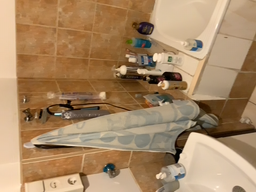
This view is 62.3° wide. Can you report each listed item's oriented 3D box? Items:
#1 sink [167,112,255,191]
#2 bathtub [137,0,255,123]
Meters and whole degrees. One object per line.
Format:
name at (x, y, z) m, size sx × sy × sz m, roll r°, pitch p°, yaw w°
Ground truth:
sink at (0.420, 0.390, 0.820) m, size 0.530 × 0.140 × 0.420 m, roll 51°, pitch 134°, yaw 49°
bathtub at (0.660, -0.860, 1.360) m, size 0.710 × 0.540 × 1.940 m, roll 47°, pitch 131°, yaw 51°
